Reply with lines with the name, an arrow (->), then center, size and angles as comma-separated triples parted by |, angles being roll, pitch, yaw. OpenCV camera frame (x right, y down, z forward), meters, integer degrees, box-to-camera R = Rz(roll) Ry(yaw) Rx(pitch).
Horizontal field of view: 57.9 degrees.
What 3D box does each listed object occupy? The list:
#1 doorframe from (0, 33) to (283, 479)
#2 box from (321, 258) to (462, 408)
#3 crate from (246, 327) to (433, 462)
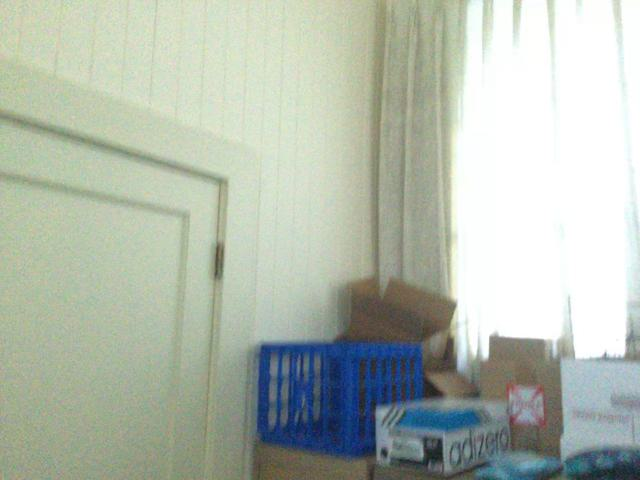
doorframe -> -0.500, 0.700, 1.180 | 0.060, 2.130, 1.060 | -5, -12, 37
box -> 0.240, 0.300, 1.900 | 0.350, 0.430, 0.290 | -5, -12, 37
crate -> 0.070, 0.420, 1.670 | 0.350, 0.310, 0.420 | -5, -12, 37
